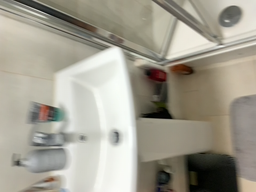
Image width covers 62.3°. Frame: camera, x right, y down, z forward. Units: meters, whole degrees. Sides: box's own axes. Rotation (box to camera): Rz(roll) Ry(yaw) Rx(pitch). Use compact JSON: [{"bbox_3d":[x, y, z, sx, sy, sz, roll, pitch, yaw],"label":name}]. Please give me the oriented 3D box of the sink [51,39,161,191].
[{"bbox_3d":[-0.090,0.150,0.760,0.380,0.170,0.580,-7,79,42],"label":"sink"}]
